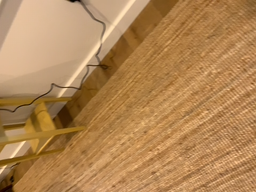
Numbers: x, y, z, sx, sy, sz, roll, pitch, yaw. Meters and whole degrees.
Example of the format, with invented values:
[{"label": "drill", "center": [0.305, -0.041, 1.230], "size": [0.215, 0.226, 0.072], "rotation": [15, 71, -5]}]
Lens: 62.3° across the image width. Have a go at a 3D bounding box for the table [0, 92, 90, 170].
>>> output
[{"label": "table", "center": [-0.720, 0.240, 1.530], "size": [0.440, 0.690, 0.330], "rotation": [-44, 66, 29]}]
